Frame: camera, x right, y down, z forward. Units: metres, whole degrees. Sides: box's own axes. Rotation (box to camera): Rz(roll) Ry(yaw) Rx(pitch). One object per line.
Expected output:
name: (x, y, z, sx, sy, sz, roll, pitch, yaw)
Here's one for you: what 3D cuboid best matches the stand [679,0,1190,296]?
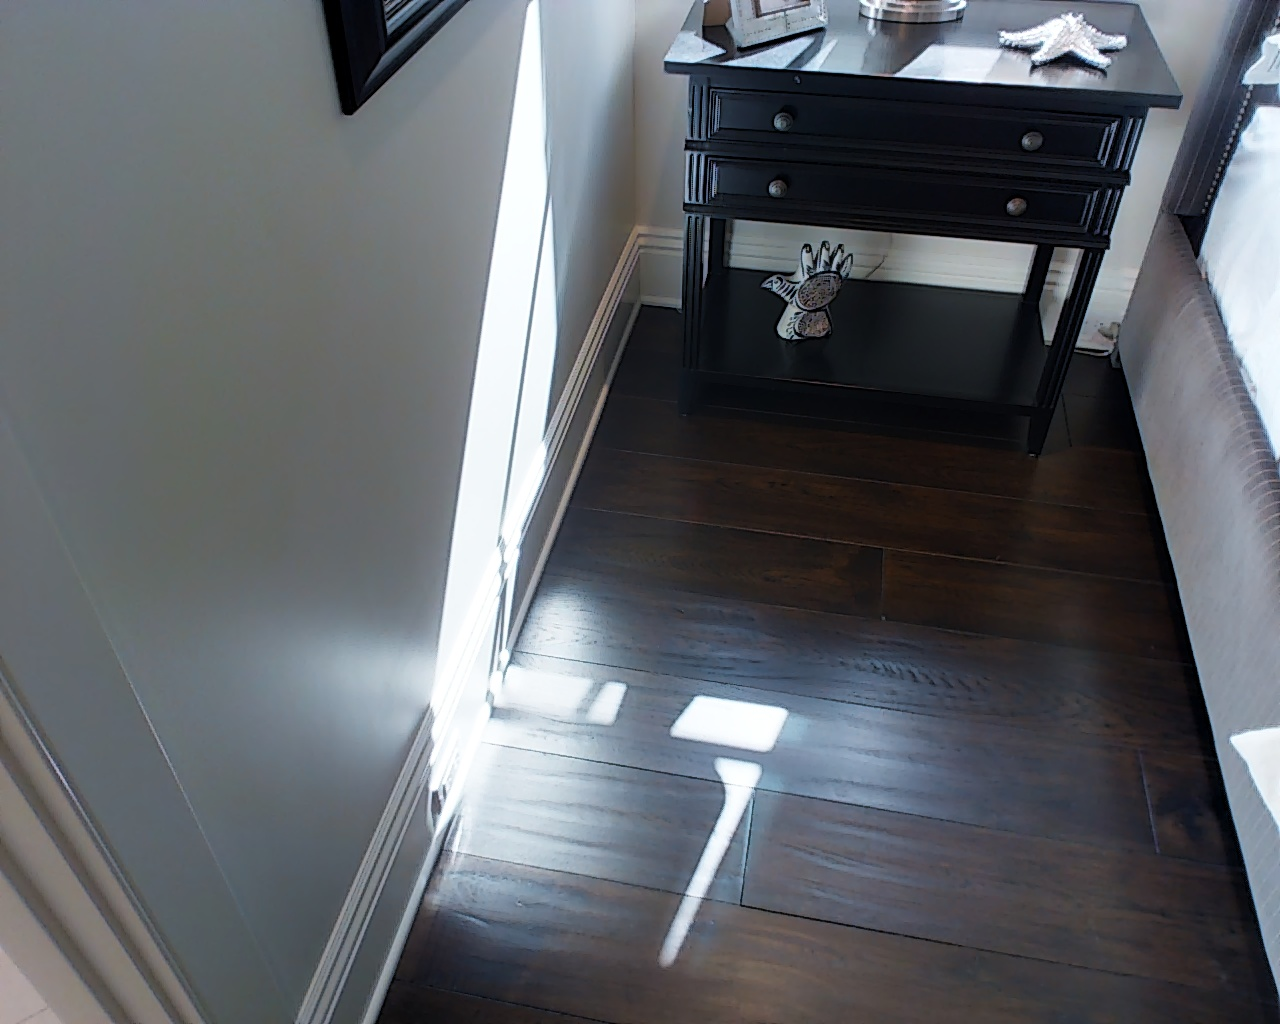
stand: (0.540, -0.740, 2.130, 0.860, 0.380, 0.400, 8, 42, 9)
